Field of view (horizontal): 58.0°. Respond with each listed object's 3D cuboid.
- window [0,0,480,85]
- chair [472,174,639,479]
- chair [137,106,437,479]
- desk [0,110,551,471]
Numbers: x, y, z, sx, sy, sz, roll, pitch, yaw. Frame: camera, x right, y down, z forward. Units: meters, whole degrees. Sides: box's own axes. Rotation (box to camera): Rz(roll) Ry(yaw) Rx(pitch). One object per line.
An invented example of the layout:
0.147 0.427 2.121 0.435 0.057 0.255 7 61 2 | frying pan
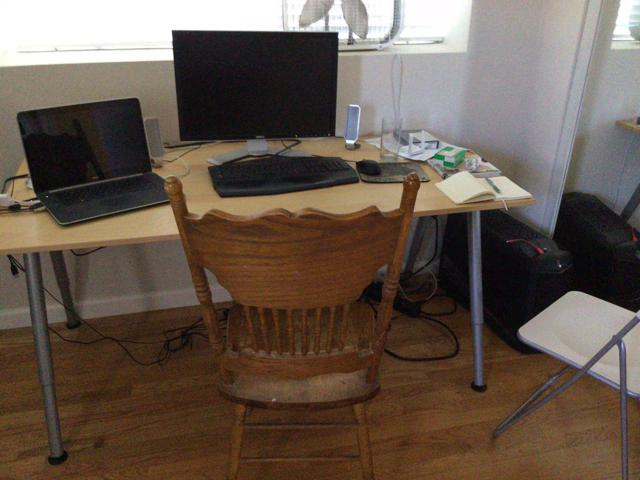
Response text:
-0.290 -1.160 2.100 1.780 1.040 0.390 -6 25 -13 | window
0.890 0.280 1.750 0.550 0.750 0.540 -21 32 -38 | chair
-0.080 0.240 1.600 0.550 1.070 0.700 -1 25 -3 | chair
-0.200 0.070 2.120 1.650 0.840 0.830 -6 25 -13 | desk
